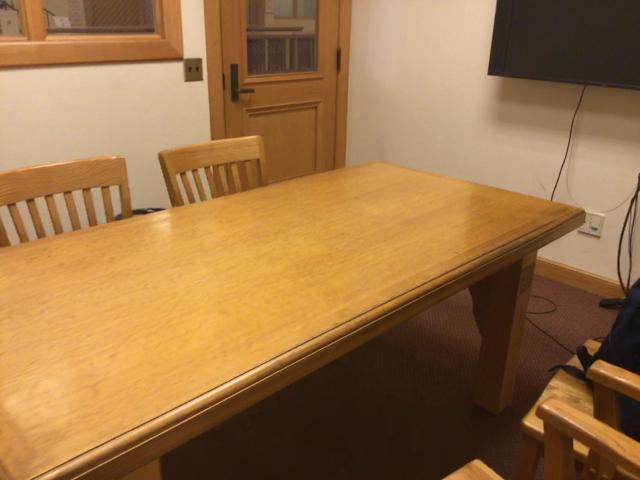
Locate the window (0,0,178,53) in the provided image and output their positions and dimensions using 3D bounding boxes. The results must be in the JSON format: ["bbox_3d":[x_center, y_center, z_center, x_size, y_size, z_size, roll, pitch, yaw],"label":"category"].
[{"bbox_3d":[-1.240,-1.080,2.360,1.300,0.580,0.260,-19,29,-41],"label":"window"}]
